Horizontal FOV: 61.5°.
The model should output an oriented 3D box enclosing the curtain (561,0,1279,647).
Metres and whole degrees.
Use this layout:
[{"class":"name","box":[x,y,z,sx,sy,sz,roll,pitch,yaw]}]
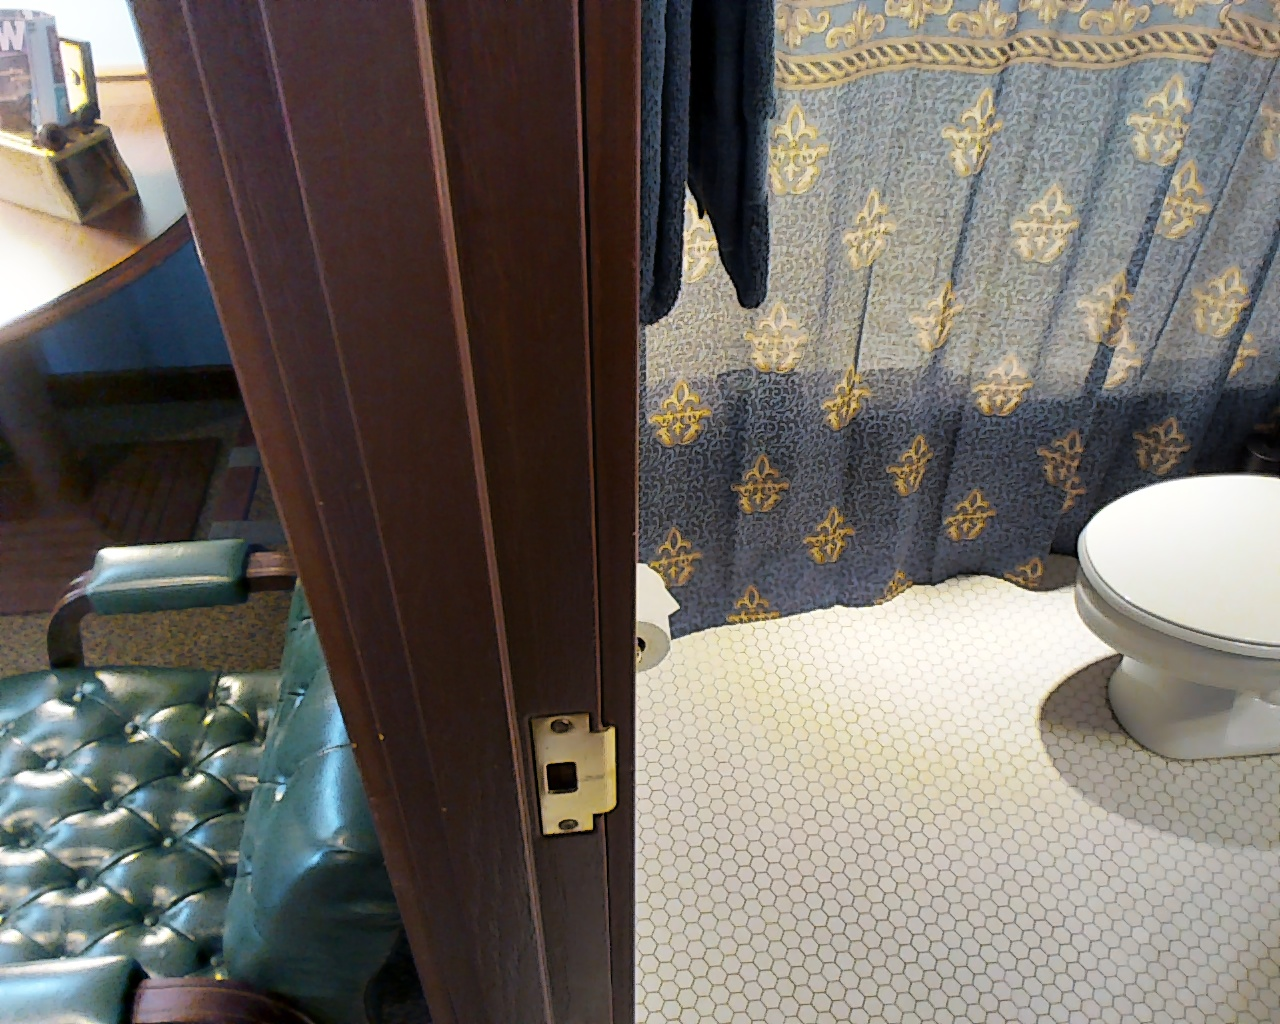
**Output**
[{"class":"curtain","box":[0.630,-0.540,1.530,1.460,1.880,0.150,-5,43,-6]}]
